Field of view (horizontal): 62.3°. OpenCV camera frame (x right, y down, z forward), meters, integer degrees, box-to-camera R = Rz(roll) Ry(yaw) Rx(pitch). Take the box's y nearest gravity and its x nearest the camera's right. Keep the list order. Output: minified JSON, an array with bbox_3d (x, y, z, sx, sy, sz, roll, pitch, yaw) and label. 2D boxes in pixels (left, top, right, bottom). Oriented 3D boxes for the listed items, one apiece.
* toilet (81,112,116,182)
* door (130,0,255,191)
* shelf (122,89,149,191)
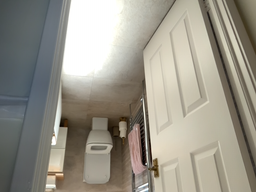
[{"bbox_3d":[-0.420,0.740,3.000,0.400,0.810,0.620,4,151,-12],"label":"toilet"},{"bbox_3d":[0.260,0.330,1.100,0.090,1.980,0.820,10,150,-22],"label":"door"},{"bbox_3d":[0.050,0.670,2.230,0.140,1.330,0.670,2,152,-8],"label":"shelf"}]
